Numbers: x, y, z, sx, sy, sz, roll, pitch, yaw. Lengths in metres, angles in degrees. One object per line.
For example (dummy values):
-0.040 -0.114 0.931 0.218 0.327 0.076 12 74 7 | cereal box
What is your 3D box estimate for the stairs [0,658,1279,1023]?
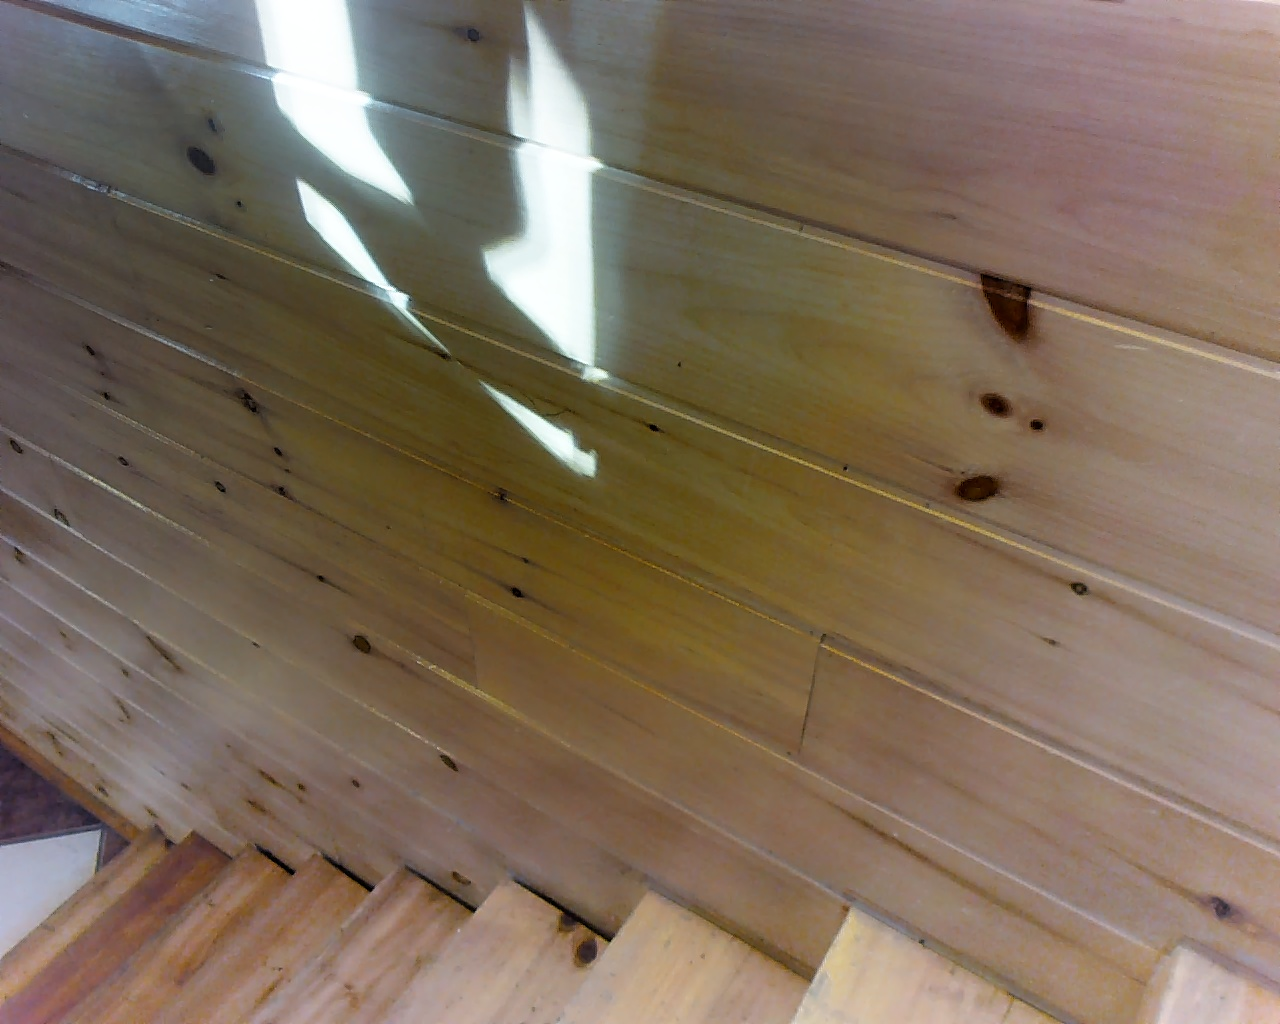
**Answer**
-0.200 0.820 0.950 3.470 0.700 1.150 -15 24 49 | stairs
